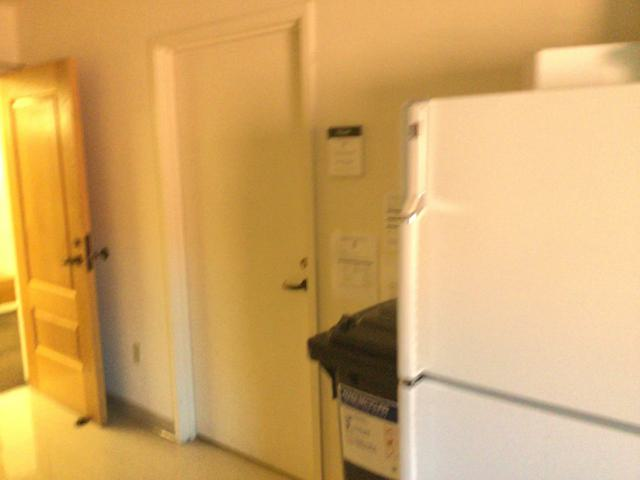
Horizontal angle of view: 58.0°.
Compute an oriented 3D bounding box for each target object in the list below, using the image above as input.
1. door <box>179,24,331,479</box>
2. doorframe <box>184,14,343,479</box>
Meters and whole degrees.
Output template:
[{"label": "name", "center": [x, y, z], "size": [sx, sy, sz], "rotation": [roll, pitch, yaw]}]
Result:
[{"label": "door", "center": [-0.290, 0.110, 2.540], "size": [0.760, 1.920, 0.110], "rotation": [8, 14, 38]}, {"label": "doorframe", "center": [-0.250, 0.110, 2.490], "size": [0.760, 1.950, 0.120], "rotation": [8, 14, 38]}]
